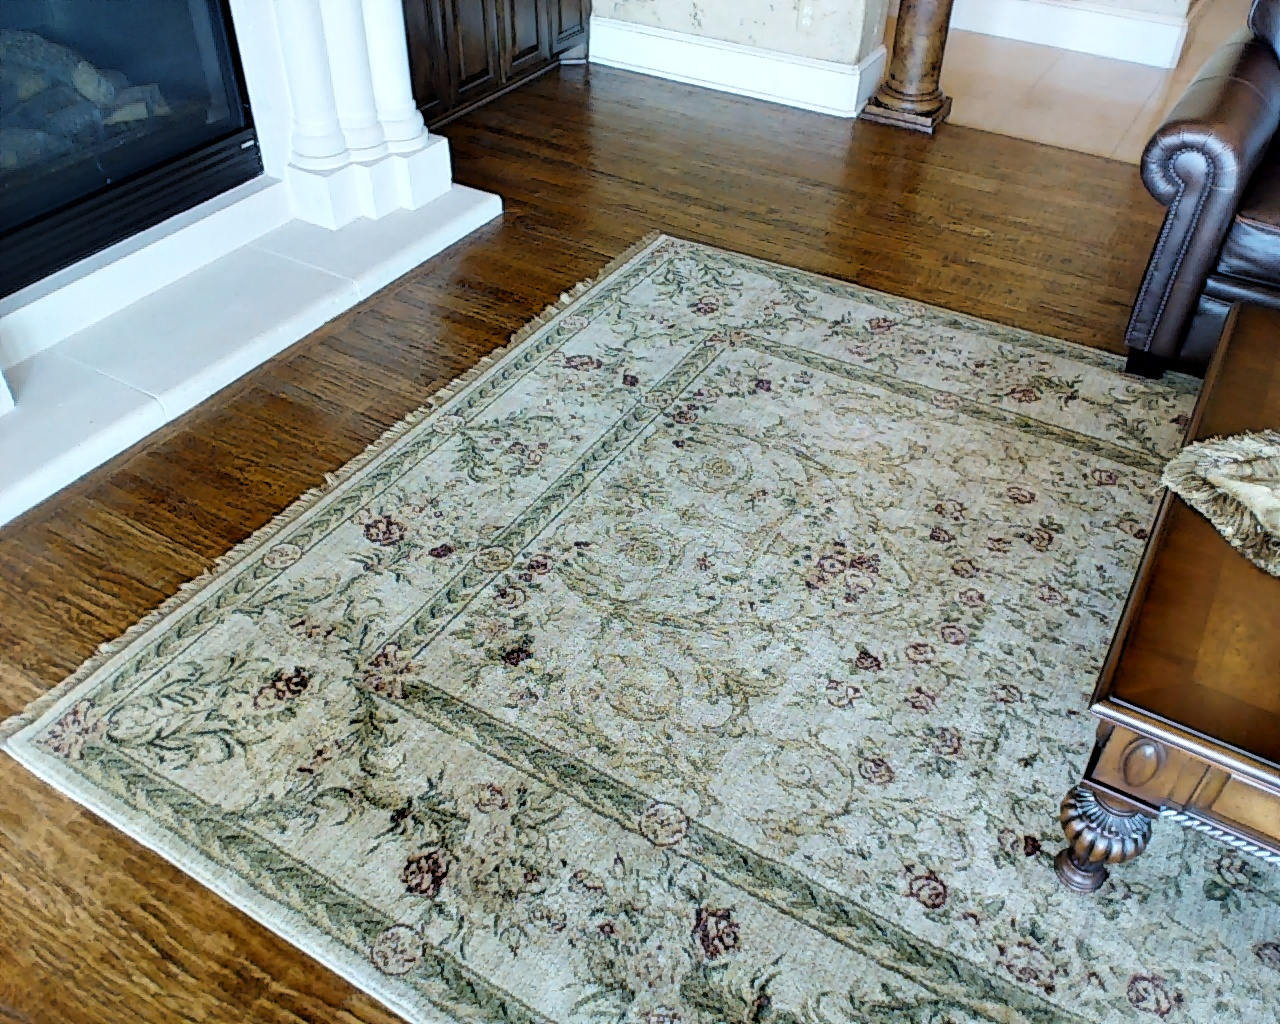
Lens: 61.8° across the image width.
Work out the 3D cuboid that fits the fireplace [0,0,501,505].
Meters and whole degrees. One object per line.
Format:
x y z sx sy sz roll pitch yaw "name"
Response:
-1.210 -1.120 2.490 0.450 1.550 2.150 22 45 23 "fireplace"
